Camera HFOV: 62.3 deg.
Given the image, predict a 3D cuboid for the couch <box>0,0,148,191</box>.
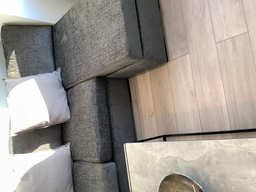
[{"bbox_3d":[-0.580,0.380,1.980,1.140,0.820,2.190,-14,80,47],"label":"couch"}]
